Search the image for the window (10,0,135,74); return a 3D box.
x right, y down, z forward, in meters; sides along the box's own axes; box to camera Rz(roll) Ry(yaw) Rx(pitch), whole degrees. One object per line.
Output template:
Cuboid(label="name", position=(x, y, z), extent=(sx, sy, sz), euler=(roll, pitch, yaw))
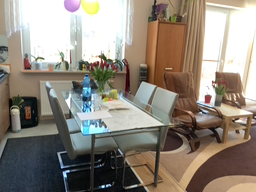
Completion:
Cuboid(label="window", position=(-0.870, -1.180, 3.650), extent=(1.980, 1.550, 0.370), euler=(-3, 15, -25))

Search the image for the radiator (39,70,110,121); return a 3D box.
Cuboid(label="radiator", position=(-0.930, -0.030, 3.760), extent=(1.170, 0.830, 0.200), euler=(-2, 15, -22))
